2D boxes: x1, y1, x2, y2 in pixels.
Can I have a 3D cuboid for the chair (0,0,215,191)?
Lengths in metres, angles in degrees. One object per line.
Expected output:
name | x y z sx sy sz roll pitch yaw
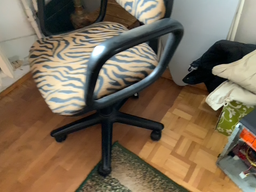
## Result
chair | -0.150 -0.170 0.840 0.600 1.010 0.560 -23 51 -16

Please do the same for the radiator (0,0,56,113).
radiator | -0.820 -0.200 1.140 0.210 0.620 0.700 27 56 25
